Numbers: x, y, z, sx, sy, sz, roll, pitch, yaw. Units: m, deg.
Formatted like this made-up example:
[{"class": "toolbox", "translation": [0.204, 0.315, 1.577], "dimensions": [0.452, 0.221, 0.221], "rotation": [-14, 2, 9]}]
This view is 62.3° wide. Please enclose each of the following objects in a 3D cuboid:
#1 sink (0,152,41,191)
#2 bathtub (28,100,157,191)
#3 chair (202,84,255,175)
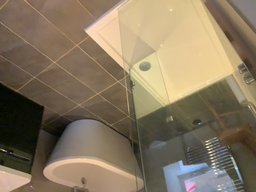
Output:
[{"class": "sink", "translation": [-1.210, 0.670, 1.880], "dimensions": [0.470, 0.150, 0.640], "rotation": [-28, 135, 23]}, {"class": "bathtub", "translation": [-0.380, 0.840, 2.950], "dimensions": [0.790, 0.630, 1.570], "rotation": [-28, 135, 23]}, {"class": "chair", "translation": [1.300, 0.380, 2.480], "dimensions": [0.550, 0.830, 0.520], "rotation": [-10, 140, 5]}]
